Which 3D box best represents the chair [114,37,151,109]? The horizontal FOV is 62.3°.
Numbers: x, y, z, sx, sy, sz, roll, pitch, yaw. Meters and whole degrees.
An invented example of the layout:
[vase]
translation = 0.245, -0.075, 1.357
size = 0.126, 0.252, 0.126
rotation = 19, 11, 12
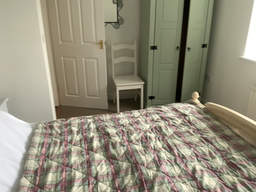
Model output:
[chair]
translation = 0.040, -0.360, 3.140
size = 0.410, 0.950, 0.510
rotation = -4, 22, -11
